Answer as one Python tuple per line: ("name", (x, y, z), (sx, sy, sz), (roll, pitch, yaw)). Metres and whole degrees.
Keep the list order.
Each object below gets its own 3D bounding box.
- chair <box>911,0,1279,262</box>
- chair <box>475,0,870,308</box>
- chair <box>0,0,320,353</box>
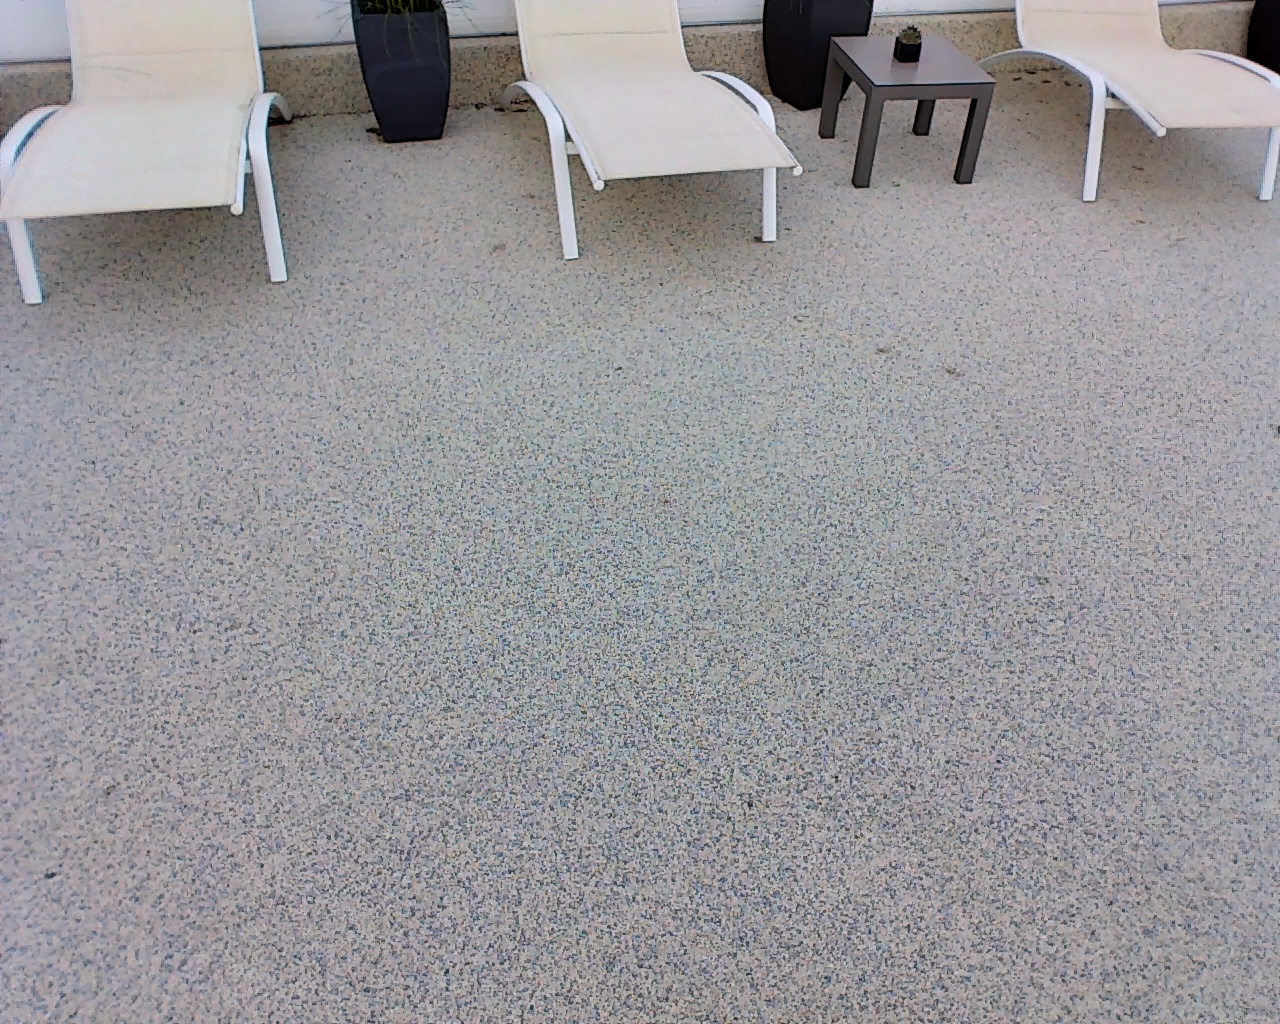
("chair", (1.820, -1.810, 3.980), (0.860, 0.970, 1.770), (-4, 42, -9))
("chair", (-0.030, -1.560, 3.550), (0.770, 0.930, 1.790), (-8, 41, -13))
("chair", (-1.490, -1.340, 3.240), (0.820, 0.900, 1.660), (-8, 41, -13))
